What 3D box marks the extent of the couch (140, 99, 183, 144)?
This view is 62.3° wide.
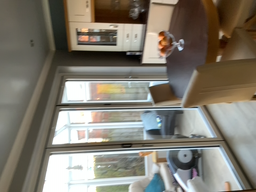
[{"bbox_3d":[0.690,0.530,4.590,0.660,0.740,0.760,-120,30,-74],"label":"couch"}]
